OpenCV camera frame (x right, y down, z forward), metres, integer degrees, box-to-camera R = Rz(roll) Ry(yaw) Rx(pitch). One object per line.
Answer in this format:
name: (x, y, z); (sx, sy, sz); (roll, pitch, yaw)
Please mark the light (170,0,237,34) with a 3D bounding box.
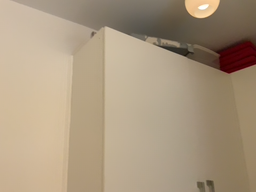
light: (0.370, -0.490, 1.080); (0.170, 0.250, 0.200); (9, 70, -35)
